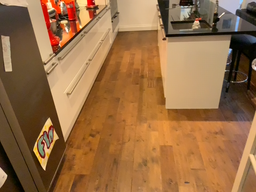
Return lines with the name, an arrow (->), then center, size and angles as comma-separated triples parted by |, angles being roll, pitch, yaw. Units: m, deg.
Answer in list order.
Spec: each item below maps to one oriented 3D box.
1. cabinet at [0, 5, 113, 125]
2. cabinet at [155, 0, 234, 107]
cabinet -> -0.790, -0.740, 3.300 | 0.590, 0.840, 2.690 | 1, 32, 7
cabinet -> 0.800, -0.890, 3.340 | 0.670, 0.850, 2.490 | -1, 31, 5
